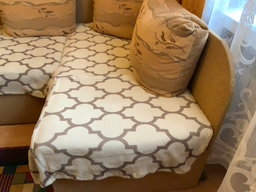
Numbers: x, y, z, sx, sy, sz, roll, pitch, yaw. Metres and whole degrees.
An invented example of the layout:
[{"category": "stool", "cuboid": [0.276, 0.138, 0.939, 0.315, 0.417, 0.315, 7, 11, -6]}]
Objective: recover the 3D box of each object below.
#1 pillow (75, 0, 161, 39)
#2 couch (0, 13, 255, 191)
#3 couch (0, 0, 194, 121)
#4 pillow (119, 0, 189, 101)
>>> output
[{"category": "pillow", "cuboid": [-0.090, -0.670, 1.580, 0.550, 0.340, 0.200, 5, 47, 47]}, {"category": "couch", "cuboid": [-0.030, 0.040, 1.070, 0.830, 0.710, 0.630, -2, 37, -6]}, {"category": "couch", "cuboid": [-0.730, -0.380, 1.560, 2.060, 0.750, 0.810, -2, 37, -6]}, {"category": "pillow", "cuboid": [0.080, -0.310, 1.130, 0.210, 0.340, 0.640, -2, 37, -6]}]
